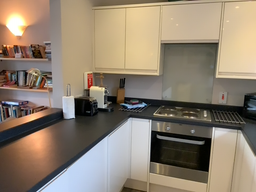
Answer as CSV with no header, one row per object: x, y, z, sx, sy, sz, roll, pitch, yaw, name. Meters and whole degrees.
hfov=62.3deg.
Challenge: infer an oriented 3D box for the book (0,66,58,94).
-1.690,-0.270,3.320,1.200,0.360,0.260,5,11,19,book
